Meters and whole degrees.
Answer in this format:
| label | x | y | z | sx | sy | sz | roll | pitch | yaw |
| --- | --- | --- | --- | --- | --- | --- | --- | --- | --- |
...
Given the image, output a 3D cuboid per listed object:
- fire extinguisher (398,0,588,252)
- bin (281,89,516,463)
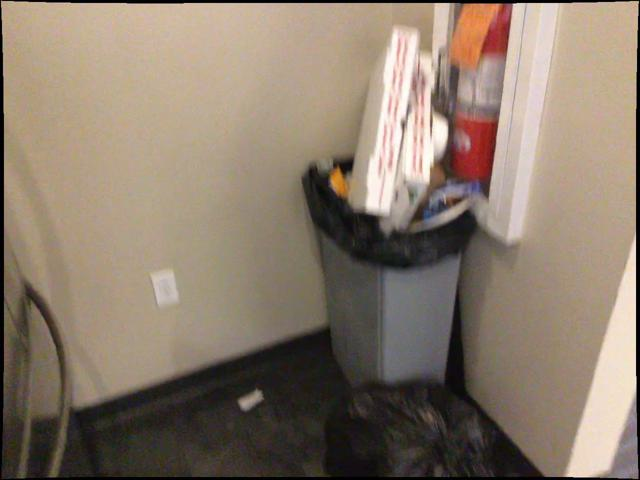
| label | x | y | z | sx | sy | sz | roll | pitch | yaw |
| --- | --- | --- | --- | --- | --- | --- | --- | --- | --- |
| fire extinguisher | 0.359 | -0.391 | 1.330 | 0.160 | 0.691 | 0.440 | -12 | 35 | -14 |
| bin | 0.180 | 0.100 | 1.680 | 0.389 | 0.871 | 0.540 | -12 | 35 | -14 |
